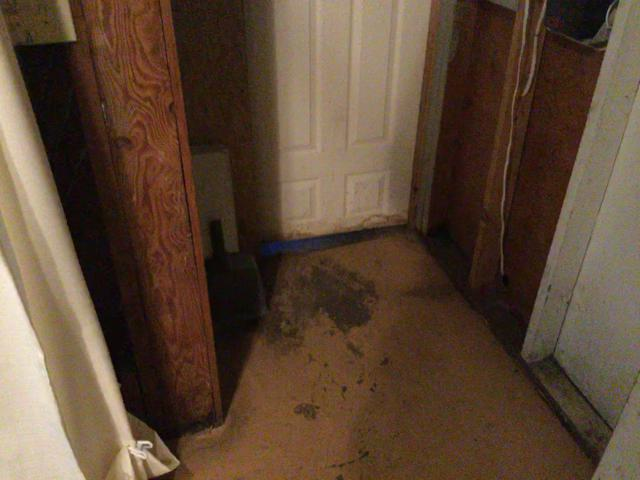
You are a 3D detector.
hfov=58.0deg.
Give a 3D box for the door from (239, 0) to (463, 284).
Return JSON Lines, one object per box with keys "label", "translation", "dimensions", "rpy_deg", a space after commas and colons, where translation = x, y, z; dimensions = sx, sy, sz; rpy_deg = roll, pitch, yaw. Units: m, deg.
{"label": "door", "translation": [0.100, -0.830, 1.890], "dimensions": [0.690, 2.040, 0.270], "rpy_deg": [-12, 34, -16]}
